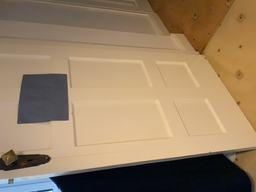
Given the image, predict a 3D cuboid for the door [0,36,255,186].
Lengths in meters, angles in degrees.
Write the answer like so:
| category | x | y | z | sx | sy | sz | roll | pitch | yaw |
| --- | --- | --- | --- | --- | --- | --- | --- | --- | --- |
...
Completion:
| category | x | y | z | sx | sy | sz | roll | pitch | yaw |
| --- | --- | --- | --- | --- | --- | --- | --- | --- | --- |
| door | -0.300 | -0.020 | 1.040 | 0.040 | 1.970 | 0.820 | 110 | 151 | -45 |
